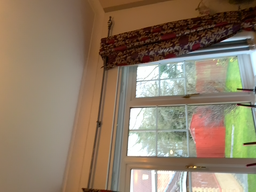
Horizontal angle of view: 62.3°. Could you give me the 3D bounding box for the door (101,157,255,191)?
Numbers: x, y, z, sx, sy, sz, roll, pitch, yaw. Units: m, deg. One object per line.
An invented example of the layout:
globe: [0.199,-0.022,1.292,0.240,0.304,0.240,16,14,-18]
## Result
door: [0.460,0.770,1.730,0.160,1.390,0.460,59,-148,-59]

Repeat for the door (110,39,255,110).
door: [0.520,-0.200,2.220,0.220,1.350,0.610,58,-147,-60]

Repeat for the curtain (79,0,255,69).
curtain: [0.670,-0.640,1.870,0.260,2.230,0.550,57,-146,-60]

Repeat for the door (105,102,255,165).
door: [0.470,0.340,1.960,0.160,1.340,0.500,58,-147,-60]
